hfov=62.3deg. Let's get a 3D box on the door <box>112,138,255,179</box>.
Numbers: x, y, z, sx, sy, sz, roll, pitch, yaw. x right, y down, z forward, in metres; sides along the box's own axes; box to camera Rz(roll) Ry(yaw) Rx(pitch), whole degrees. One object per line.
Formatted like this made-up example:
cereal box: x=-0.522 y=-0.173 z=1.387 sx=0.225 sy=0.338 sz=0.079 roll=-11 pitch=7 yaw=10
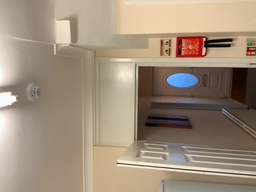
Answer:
door: x=0.950 y=0.440 z=1.460 sx=0.700 sy=2.010 sz=0.050 roll=7 pitch=-96 yaw=-81
